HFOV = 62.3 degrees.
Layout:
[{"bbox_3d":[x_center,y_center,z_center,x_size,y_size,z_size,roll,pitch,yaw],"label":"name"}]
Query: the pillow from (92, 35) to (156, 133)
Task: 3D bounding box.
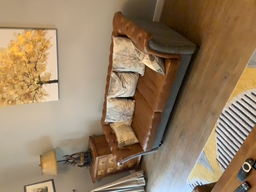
[{"bbox_3d":[-0.080,-0.130,2.730,0.260,0.380,1.240,36,119,27],"label":"pillow"}]
